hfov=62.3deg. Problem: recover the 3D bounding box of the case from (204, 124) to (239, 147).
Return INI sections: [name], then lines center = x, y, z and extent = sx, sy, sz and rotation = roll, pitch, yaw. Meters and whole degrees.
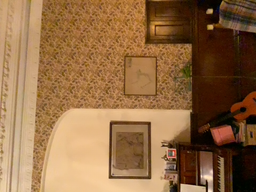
[case]
center = 1.250, 0.520, 2.880
extent = 0.400, 0.290, 0.280
rotation = 77, -167, -82
